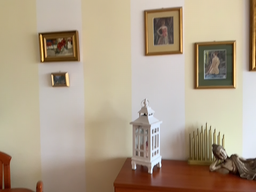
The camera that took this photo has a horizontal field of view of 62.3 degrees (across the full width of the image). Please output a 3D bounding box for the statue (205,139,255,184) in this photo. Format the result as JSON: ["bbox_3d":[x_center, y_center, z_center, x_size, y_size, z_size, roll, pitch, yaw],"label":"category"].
[{"bbox_3d":[0.770,0.400,1.330,0.490,0.160,0.340,0,3,10],"label":"statue"}]
